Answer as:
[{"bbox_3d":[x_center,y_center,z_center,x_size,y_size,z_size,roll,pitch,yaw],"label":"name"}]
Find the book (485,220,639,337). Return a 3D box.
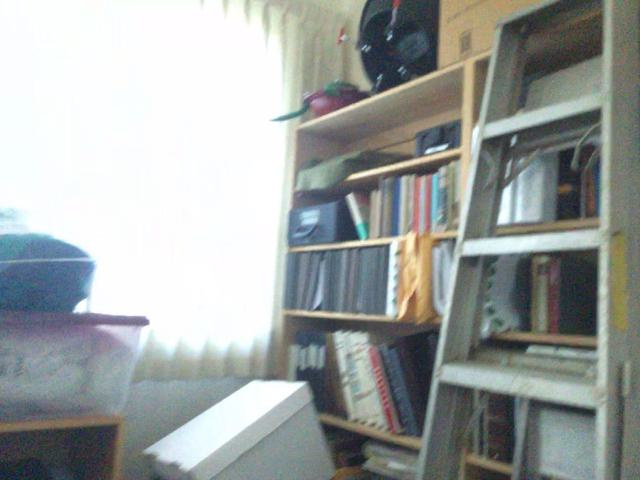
[{"bbox_3d":[0.810,0.100,1.380,0.270,0.260,0.790,8,-9,-37],"label":"book"}]

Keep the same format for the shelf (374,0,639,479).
[{"bbox_3d":[0.680,0.580,1.270,0.520,2.380,1.070,8,-9,-37],"label":"shelf"}]

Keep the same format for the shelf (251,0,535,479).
[{"bbox_3d":[0.210,0.020,2.050,0.350,1.400,1.000,8,-9,-37],"label":"shelf"}]

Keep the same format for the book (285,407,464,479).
[{"bbox_3d":[0.170,0.790,2.000,0.300,0.310,0.570,8,-9,-37],"label":"book"}]

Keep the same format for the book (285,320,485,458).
[{"bbox_3d":[0.200,0.480,2.020,0.290,0.360,0.680,8,-9,-37],"label":"book"}]

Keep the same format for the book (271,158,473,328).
[{"bbox_3d":[0.140,0.040,2.010,0.180,0.480,0.810,8,-9,-37],"label":"book"}]
